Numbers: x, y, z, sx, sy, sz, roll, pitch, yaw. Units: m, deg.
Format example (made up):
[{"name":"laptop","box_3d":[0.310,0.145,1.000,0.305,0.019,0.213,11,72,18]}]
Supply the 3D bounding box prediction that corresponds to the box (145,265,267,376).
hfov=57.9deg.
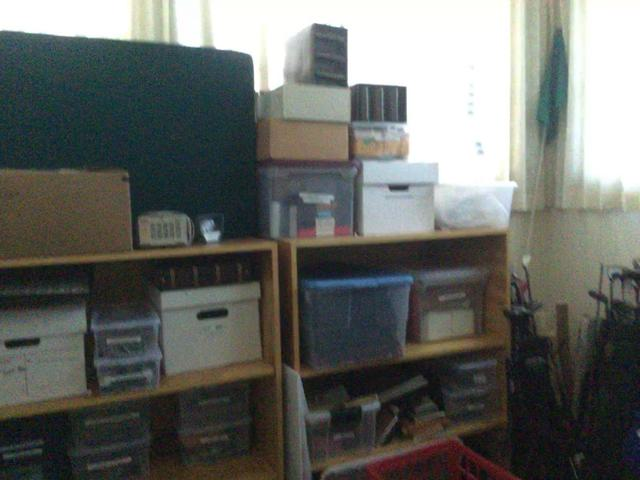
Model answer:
[{"name":"box","box_3d":[-0.400,0.250,1.960,0.310,0.260,0.410,-4,6,-24]}]

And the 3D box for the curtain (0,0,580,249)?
[{"name":"curtain","box_3d":[-0.580,-0.880,1.990,3.710,1.730,0.290,-4,6,-24]}]
